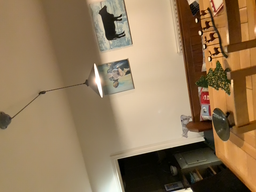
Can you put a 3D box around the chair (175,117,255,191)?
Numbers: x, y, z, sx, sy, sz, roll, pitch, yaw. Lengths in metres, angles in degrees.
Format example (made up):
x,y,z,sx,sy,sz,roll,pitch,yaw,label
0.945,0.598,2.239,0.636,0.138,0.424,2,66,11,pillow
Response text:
x,y,z,sx,sy,sz,roll,pitch,yaw,label
1.180,0.650,2.200,0.480,1.180,0.630,-112,11,-78,chair

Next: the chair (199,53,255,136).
x,y,z,sx,sy,sz,roll,pitch,yaw,label
1.140,-0.100,1.580,0.490,1.010,0.440,-112,11,-78,chair
